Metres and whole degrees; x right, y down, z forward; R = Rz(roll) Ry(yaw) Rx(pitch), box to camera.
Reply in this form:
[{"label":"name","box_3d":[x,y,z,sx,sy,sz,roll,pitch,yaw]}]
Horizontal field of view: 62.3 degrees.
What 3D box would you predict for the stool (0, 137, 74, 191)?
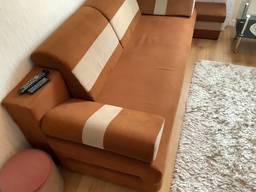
[{"label":"stool","box_3d":[-0.620,0.550,1.390,0.320,0.400,0.320,12,48,14]}]
